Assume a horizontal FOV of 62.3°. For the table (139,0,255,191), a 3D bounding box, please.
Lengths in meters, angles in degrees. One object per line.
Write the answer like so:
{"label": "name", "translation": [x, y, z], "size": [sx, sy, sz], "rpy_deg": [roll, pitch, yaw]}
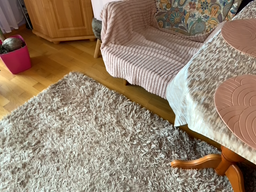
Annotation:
{"label": "table", "translation": [0.790, 0.000, 1.260], "size": [0.700, 0.700, 1.410], "rpy_deg": [32, 55, 25]}

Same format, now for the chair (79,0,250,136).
{"label": "chair", "translation": [0.320, -0.530, 1.540], "size": [0.760, 1.000, 1.020], "rpy_deg": [28, 53, 23]}
